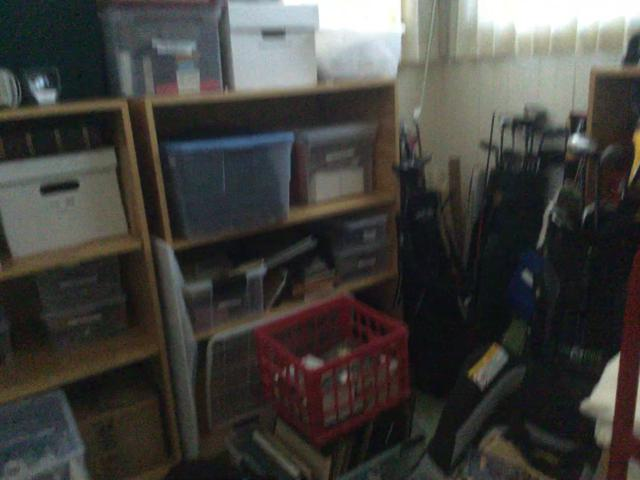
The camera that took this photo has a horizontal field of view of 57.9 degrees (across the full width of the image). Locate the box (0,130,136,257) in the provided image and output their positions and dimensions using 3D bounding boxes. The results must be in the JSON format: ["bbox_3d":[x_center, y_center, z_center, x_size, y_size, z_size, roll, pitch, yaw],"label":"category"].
[{"bbox_3d":[-0.780,-0.160,1.700,0.310,0.260,0.410,-15,21,-32],"label":"box"}]
